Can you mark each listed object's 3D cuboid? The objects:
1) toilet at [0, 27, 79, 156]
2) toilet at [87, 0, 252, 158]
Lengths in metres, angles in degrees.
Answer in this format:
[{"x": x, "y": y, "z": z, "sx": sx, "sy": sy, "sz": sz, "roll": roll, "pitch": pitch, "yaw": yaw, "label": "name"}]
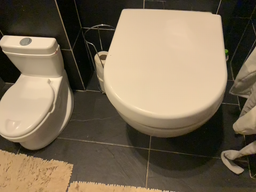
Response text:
[{"x": -0.440, "y": -0.010, "z": 0.950, "sx": 0.260, "sy": 0.400, "sz": 0.400, "roll": 5, "pitch": 55, "yaw": 5, "label": "toilet"}, {"x": 0.130, "y": -0.100, "z": 0.810, "sx": 0.410, "sy": 0.300, "sz": 0.540, "roll": 4, "pitch": 55, "yaw": 5, "label": "toilet"}]
